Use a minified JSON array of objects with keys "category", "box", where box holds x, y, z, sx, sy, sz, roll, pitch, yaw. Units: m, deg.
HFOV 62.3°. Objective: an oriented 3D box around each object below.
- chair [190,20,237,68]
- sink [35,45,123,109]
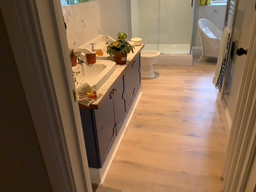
[{"category":"chair","box":[1.650,-1.030,4.110,0.570,0.720,0.610,19,34,36]},{"category":"sink","box":[-0.370,-0.210,1.860,0.450,0.280,0.700,5,28,15]}]
